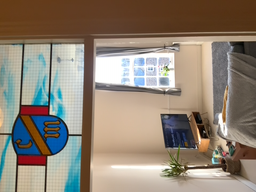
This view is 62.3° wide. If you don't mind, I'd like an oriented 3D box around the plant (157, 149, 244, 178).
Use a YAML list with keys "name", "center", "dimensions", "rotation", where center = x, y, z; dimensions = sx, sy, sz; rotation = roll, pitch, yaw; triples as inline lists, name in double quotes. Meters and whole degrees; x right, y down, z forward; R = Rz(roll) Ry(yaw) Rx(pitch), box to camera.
- name: "plant"
  center: [1.220, 1.190, 3.810]
  dimensions: [0.730, 1.330, 0.290]
  rotation: [64, -153, -86]
